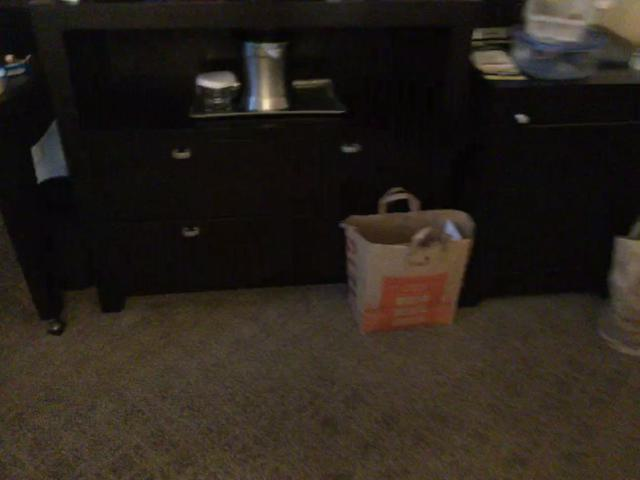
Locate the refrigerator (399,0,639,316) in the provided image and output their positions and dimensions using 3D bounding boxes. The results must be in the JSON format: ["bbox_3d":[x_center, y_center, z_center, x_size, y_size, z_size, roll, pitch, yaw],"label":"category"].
[{"bbox_3d":[0.710,-0.310,1.950,0.700,0.870,0.660,-3,35,-4],"label":"refrigerator"}]

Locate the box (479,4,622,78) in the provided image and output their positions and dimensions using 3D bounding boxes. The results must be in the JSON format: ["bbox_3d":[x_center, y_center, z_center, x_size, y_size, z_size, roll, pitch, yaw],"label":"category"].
[{"bbox_3d":[0.640,-0.580,1.660,0.240,0.100,0.380,-3,35,-4],"label":"box"}]

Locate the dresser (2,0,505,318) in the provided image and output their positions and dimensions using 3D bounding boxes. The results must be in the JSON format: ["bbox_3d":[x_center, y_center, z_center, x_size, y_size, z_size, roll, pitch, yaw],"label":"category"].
[{"bbox_3d":[-0.160,-0.380,1.830,1.180,1.090,0.560,-3,35,-4],"label":"dresser"}]
